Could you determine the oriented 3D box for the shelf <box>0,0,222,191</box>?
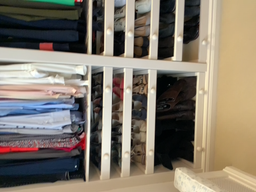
[{"bbox_3d":[-0.390,-0.300,1.830,0.700,2.340,2.000,-175,86,-69],"label":"shelf"}]
